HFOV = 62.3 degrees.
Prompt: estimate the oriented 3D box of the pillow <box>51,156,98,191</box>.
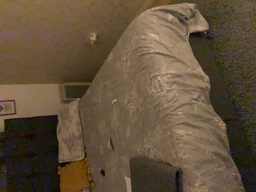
[{"bbox_3d":[-0.560,0.890,2.230,0.340,0.340,0.090,47,180,10],"label":"pillow"}]
